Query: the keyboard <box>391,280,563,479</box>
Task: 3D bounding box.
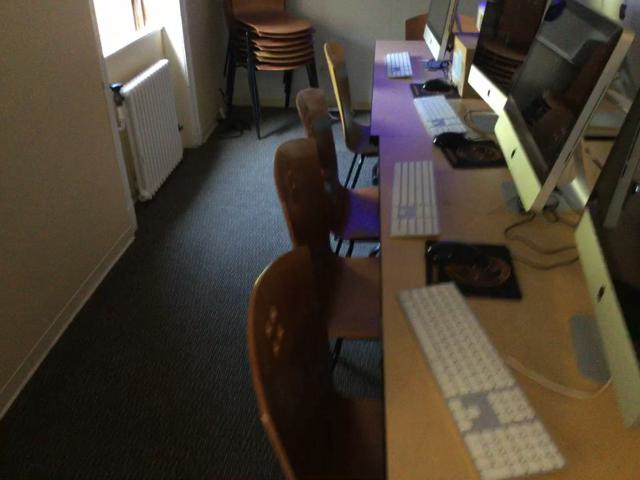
[{"bbox_3d":[0.220,0.190,0.900,0.120,0.020,0.400,-5,31,-7],"label":"keyboard"}]
